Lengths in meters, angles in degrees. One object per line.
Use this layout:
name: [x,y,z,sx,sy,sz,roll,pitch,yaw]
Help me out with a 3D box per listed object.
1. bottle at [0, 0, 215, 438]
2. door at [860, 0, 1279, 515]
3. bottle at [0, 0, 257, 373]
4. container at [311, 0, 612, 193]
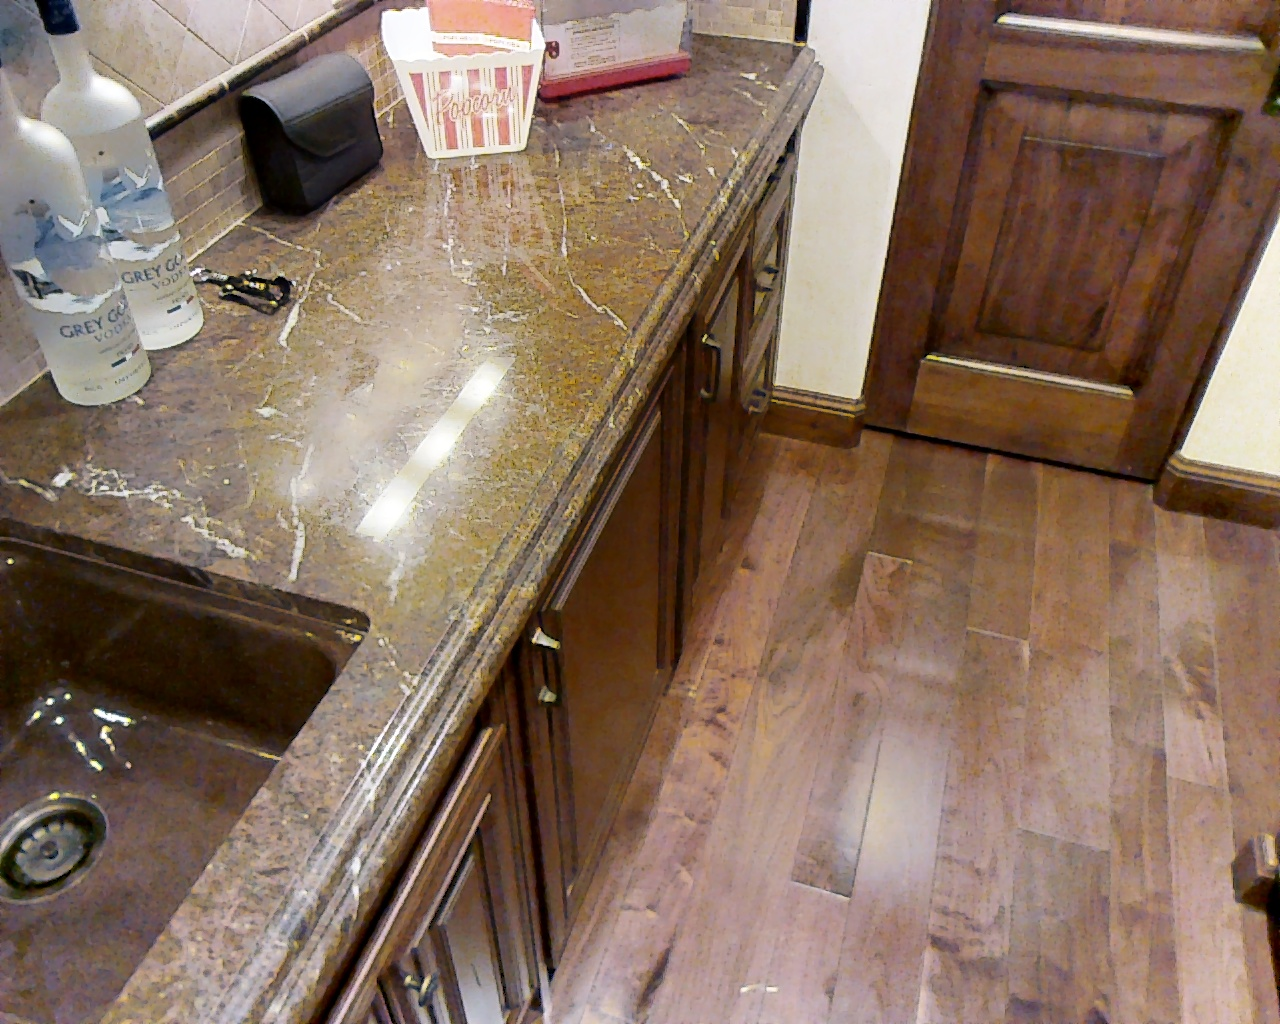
bottle: [-0.580,-0.300,1.080,0.130,0.440,0.130,12,42,14]
door: [0.890,-1.000,1.800,0.710,2.400,0.080,12,42,14]
bottle: [-0.560,-0.380,1.170,0.130,0.440,0.120,12,42,14]
container: [-0.260,-0.680,1.680,0.340,0.190,0.330,12,42,14]
